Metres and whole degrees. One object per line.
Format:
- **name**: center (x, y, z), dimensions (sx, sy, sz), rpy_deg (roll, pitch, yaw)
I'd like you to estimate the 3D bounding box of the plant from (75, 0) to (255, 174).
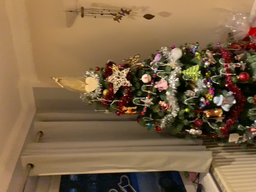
- **plant**: center (0.480, -0.070, 1.780), dimensions (1.100, 1.690, 1.160), rpy_deg (126, 144, -74)
